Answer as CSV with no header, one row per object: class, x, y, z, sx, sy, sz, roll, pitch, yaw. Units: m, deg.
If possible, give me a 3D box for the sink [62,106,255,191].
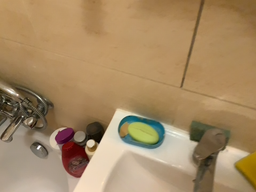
sink,0.120,0.290,0.460,0.520,0.140,0.390,18,53,16
